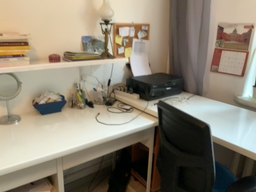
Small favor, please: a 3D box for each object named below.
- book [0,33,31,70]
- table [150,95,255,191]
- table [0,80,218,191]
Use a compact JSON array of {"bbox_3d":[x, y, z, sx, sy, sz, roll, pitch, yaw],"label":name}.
[{"bbox_3d":[-0.710,-0.270,1.250,0.200,0.190,0.180,-10,22,-35],"label":"book"},{"bbox_3d":[0.700,0.540,1.550,0.760,0.840,0.700,-10,21,-37],"label":"table"},{"bbox_3d":[-0.090,0.440,1.730,1.760,0.840,0.590,-11,23,-36],"label":"table"}]
